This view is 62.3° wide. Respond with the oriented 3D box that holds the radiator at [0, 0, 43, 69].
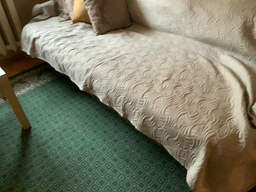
[{"bbox_3d":[-1.220,-0.680,2.050,0.500,0.690,0.250,-32,47,-30],"label":"radiator"}]
